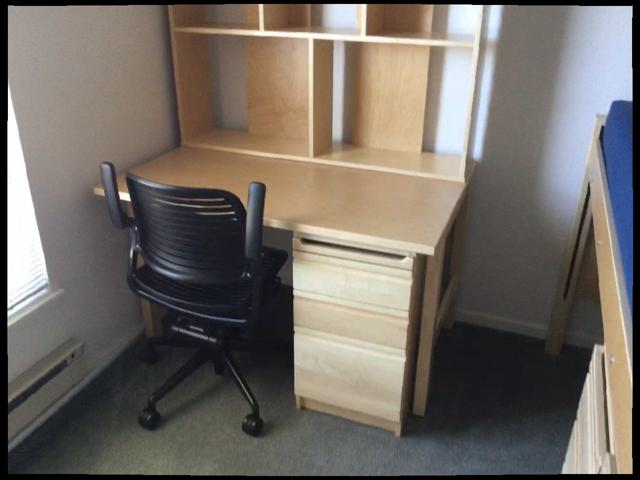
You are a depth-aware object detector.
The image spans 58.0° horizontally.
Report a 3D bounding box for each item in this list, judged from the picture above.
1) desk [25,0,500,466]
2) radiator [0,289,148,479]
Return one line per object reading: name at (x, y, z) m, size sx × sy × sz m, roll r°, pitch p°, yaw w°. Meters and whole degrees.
desk at (-0.110, -0.250, 2.220) m, size 1.288 × 1.562 × 0.990 m, roll 10°, pitch 28°, yaw 19°
radiator at (-1.028, 0.611, 1.860) m, size 0.080 × 0.260 × 1.380 m, roll 10°, pitch 28°, yaw 19°
